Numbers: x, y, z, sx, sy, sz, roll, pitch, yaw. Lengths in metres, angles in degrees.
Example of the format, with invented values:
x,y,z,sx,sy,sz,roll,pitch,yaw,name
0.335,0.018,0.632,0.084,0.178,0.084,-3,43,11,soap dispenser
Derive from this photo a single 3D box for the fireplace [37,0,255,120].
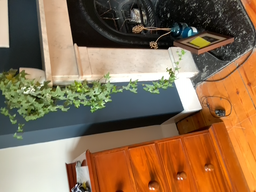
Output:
x,y,z,sx,sy,sz,roll,pitch,yaw,name
-0.050,-0.820,1.550,0.790,1.100,1.700,-46,54,57,fireplace
